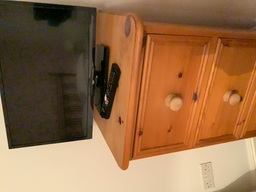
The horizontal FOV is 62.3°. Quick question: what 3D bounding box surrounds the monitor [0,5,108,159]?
[{"bbox_3d":[-0.270,-0.030,0.790,0.060,0.350,0.540,-132,44,-55],"label":"monitor"}]
